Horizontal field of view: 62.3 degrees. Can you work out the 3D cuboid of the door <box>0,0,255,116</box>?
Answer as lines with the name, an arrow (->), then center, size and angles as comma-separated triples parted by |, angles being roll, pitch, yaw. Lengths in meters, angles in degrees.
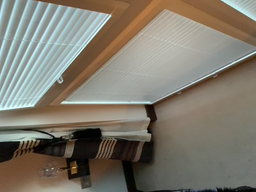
door -> -0.150, -0.200, 0.670 | 1.670, 2.170, 0.060 | -30, 67, 46
